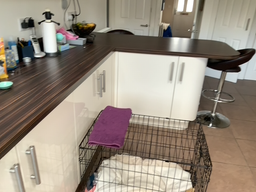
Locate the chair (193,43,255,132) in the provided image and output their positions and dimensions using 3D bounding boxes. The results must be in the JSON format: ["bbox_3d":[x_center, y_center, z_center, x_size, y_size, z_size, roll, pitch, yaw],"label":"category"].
[{"bbox_3d":[1.110,-0.120,2.530,0.460,0.890,0.500,7,25,9],"label":"chair"}]
